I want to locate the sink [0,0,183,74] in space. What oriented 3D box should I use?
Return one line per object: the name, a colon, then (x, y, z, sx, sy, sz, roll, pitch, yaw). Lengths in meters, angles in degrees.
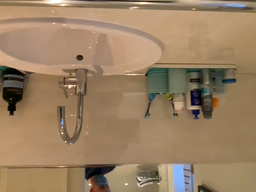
sink: (-0.160, -0.220, 0.710, 0.540, 0.190, 0.490, 0, 174, -3)
